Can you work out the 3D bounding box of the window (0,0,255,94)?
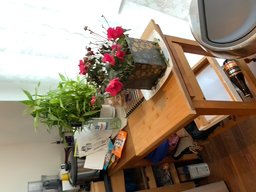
[{"bbox_3d":[-0.160,-0.520,0.870,1.580,2.510,0.080,-54,43,47],"label":"window"}]
